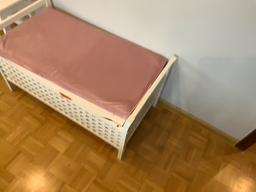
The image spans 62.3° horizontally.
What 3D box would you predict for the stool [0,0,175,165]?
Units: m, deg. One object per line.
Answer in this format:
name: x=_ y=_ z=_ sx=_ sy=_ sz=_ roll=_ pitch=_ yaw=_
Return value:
stool: x=-0.300 y=-0.120 z=1.320 sx=0.940 sy=0.460 sz=0.520 roll=29 pitch=56 yaw=13
